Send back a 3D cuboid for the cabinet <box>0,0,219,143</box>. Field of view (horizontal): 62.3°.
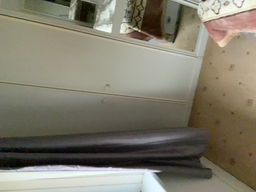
[{"bbox_3d":[-0.290,-0.790,1.880,0.600,2.160,2.300,-149,67,-64],"label":"cabinet"}]

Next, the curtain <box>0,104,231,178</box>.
[{"bbox_3d":[-0.190,0.300,1.510,0.410,2.020,0.280,-146,64,-63],"label":"curtain"}]
